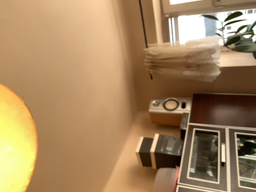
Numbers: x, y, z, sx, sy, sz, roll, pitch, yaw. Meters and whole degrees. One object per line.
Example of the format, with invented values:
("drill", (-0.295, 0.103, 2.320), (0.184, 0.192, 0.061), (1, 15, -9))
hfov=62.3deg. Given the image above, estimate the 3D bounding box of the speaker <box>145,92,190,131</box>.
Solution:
("speaker", (0.440, 0.160, 2.290), (0.260, 0.410, 0.300), (-62, -34, -50))
